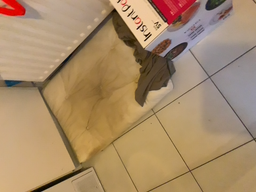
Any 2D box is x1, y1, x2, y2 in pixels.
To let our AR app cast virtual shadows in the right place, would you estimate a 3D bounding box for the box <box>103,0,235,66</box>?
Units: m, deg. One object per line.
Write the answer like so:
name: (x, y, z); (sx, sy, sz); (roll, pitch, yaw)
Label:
box: (0.160, -0.410, 0.890); (0.360, 0.380, 0.390); (-35, 75, 24)
